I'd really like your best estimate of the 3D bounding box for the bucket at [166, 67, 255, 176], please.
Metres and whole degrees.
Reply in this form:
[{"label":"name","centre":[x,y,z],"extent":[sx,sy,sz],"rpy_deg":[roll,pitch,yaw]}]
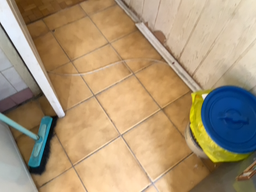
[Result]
[{"label":"bucket","centre":[0.470,0.150,1.080],"extent":[0.340,0.390,0.310],"rpy_deg":[-32,71,-18]}]
